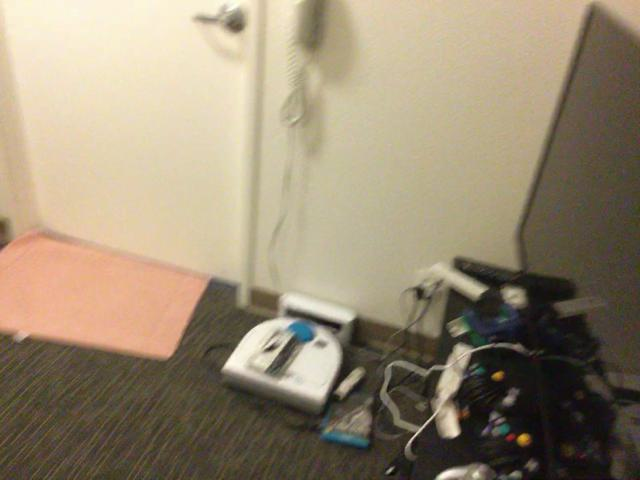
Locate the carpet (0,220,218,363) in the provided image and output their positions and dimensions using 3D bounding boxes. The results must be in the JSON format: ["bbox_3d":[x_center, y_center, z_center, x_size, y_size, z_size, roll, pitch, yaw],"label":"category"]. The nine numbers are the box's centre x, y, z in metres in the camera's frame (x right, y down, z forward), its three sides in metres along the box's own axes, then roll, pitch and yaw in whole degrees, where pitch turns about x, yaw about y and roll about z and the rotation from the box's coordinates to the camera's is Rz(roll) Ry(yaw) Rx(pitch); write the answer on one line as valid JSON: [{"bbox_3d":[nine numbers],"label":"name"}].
[{"bbox_3d":[-0.850,0.160,2.060,0.860,0.110,0.470,10,31,3],"label":"carpet"}]
